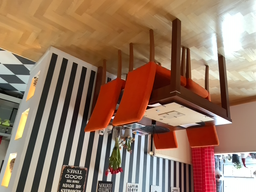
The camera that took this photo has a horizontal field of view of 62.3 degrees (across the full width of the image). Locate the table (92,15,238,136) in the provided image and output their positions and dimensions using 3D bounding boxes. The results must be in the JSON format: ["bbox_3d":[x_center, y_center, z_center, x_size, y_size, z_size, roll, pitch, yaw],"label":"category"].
[{"bbox_3d":[0.370,-0.070,2.530,0.920,0.790,1.350,22,153,-35],"label":"table"}]

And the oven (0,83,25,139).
[{"bbox_3d":[-2.480,0.290,4.050,0.570,0.890,0.650,21,153,-34],"label":"oven"}]
